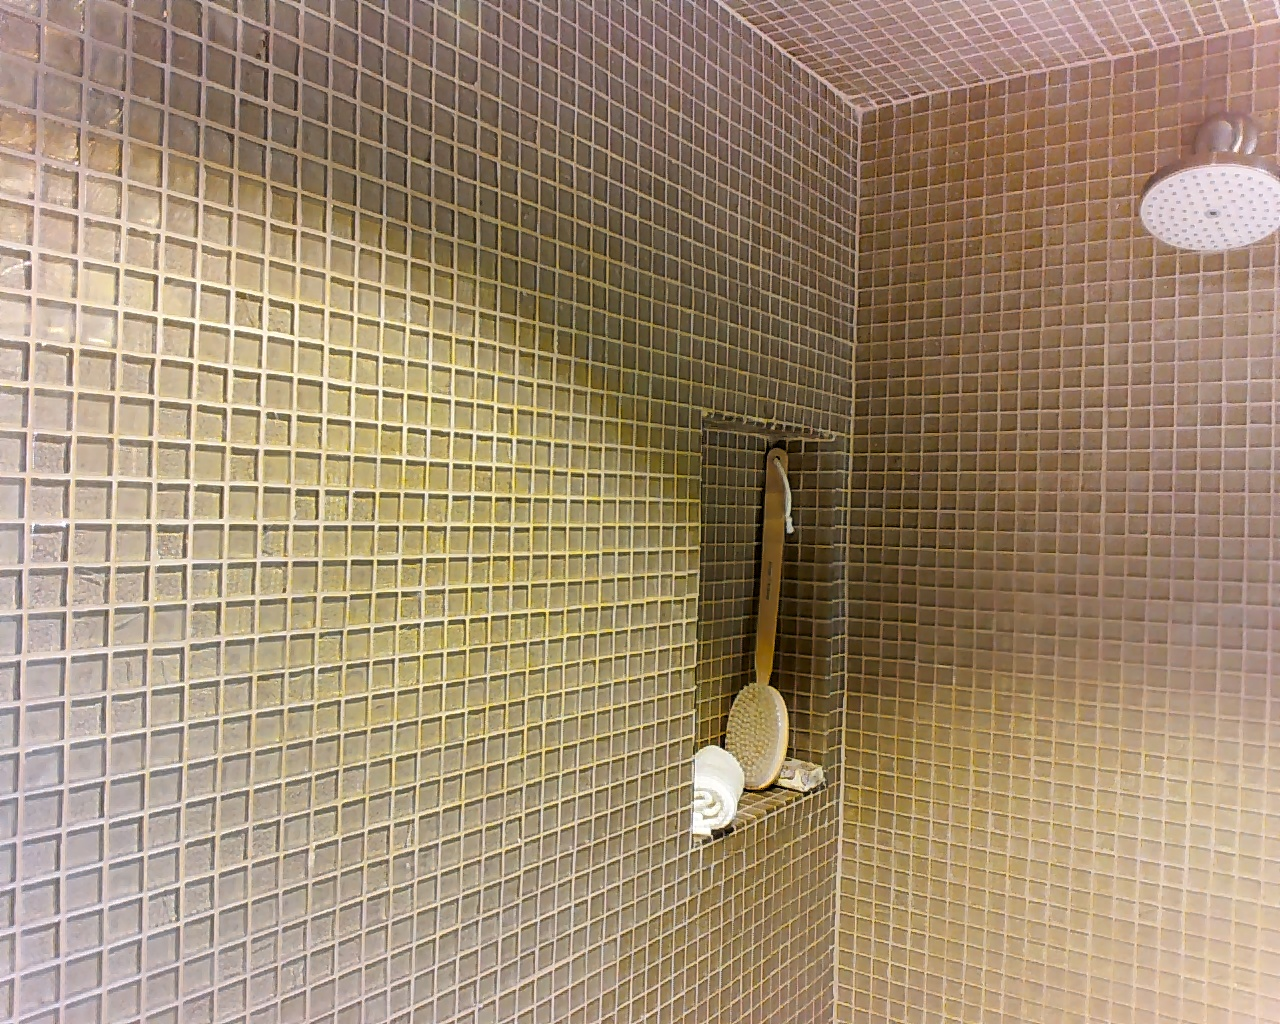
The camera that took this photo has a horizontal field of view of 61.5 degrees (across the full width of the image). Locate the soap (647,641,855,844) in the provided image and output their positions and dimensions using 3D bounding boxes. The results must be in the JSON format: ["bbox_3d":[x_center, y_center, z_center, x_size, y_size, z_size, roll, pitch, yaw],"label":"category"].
[{"bbox_3d":[0.140,0.260,1.280,0.110,0.180,0.290,2,0,36],"label":"soap"}]
